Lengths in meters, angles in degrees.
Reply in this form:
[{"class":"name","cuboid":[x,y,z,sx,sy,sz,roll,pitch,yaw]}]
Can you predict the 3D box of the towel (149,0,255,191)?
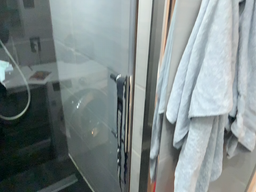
[{"class":"towel","cuboid":[0.280,0.120,0.780,0.330,1.010,0.160,-18,33,-33]}]
